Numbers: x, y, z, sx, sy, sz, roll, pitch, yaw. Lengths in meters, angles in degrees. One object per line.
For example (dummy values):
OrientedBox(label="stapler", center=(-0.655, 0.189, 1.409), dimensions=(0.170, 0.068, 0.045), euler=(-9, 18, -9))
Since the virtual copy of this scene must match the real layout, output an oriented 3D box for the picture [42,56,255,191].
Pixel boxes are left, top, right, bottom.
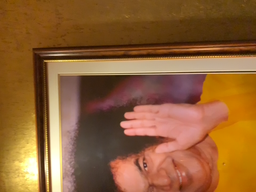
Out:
OrientedBox(label="picture", center=(0.110, 0.310, 0.750), dimensions=(0.040, 0.890, 0.880), euler=(-6, -83, -79))
